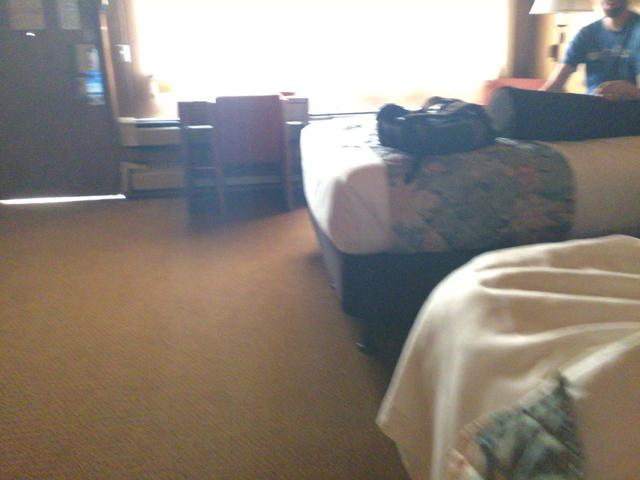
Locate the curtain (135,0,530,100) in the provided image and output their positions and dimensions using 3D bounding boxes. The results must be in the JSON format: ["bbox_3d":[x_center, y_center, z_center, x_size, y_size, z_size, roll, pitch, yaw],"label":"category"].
[{"bbox_3d":[0.090,-1.810,3.810,2.550,1.480,0.420,-6,22,-6],"label":"curtain"}]

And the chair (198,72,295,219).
[{"bbox_3d":[-0.470,-0.630,3.780,0.500,0.820,0.490,-6,22,-6],"label":"chair"}]

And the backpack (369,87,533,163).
[{"bbox_3d":[0.450,-0.430,2.100,0.460,0.160,0.420,-6,22,-6],"label":"backpack"}]

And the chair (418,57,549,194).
[{"bbox_3d":[1.120,-0.820,4.000,0.640,0.790,0.620,14,28,38],"label":"chair"}]

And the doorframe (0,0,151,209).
[{"bbox_3d":[-1.890,-1.260,3.770,1.170,2.100,0.090,-6,22,-6],"label":"doorframe"}]
